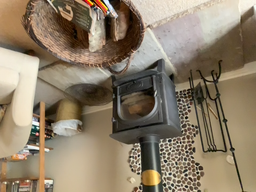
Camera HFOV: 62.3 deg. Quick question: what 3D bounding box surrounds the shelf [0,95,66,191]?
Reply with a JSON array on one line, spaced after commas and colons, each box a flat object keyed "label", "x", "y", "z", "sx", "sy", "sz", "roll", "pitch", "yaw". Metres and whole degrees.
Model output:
[{"label": "shelf", "x": -1.270, "y": 0.860, "z": 2.440, "sx": 0.840, "sy": 1.540, "sz": 0.450, "roll": -15, "pitch": 151, "yaw": 25}]

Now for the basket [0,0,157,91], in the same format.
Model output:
[{"label": "basket", "x": -0.270, "y": -0.390, "z": 1.340, "sx": 0.720, "sy": 0.270, "sz": 0.830, "roll": -10, "pitch": 152, "yaw": 17}]
